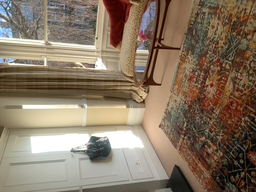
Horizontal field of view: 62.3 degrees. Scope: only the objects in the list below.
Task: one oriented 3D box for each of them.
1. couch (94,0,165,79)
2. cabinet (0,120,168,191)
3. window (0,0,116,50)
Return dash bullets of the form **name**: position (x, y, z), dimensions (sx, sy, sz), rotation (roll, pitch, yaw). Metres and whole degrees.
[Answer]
- **couch**: position (-0.030, -1.160, 3.480), dimensions (0.700, 0.810, 1.590), rotation (-117, 32, -54)
- **cabinet**: position (-0.740, 0.990, 3.220), dimensions (1.250, 2.260, 0.580), rotation (-119, 34, -56)
- **window**: position (-1.370, -1.530, 3.660), dimensions (0.260, 2.250, 1.240), rotation (-119, 35, -57)
